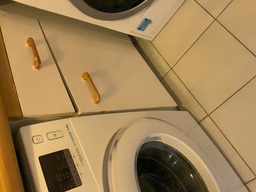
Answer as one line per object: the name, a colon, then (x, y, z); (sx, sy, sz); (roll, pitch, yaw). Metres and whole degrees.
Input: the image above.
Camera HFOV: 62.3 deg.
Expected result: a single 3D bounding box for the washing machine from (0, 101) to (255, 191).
washing machine: (0.000, 0.470, 0.800); (0.640, 0.910, 0.620); (-50, 57, 33)
